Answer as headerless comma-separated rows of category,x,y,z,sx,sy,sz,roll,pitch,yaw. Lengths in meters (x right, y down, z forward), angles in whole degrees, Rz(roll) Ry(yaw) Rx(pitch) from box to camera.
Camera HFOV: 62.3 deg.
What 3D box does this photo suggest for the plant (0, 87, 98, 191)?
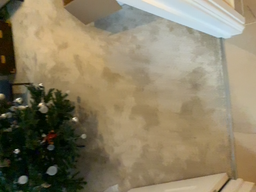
plant,-1.260,0.540,1.810,0.920,1.800,1.100,5,99,41
